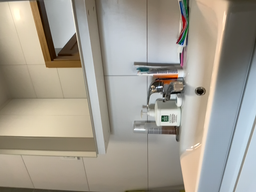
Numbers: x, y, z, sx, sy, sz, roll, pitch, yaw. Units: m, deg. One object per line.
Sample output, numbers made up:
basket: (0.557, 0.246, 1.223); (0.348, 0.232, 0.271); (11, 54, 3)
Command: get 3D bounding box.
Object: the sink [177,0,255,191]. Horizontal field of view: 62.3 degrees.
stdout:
sink: (0.270, 0.030, 0.630); (0.380, 0.150, 0.620); (-80, -11, -60)
